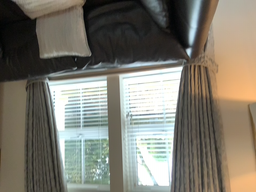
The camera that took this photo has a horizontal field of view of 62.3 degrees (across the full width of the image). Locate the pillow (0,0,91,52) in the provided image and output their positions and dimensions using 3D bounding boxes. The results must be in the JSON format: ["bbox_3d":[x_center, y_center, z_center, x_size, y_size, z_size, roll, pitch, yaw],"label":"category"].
[{"bbox_3d":[-0.510,-0.560,1.350,0.340,0.340,0.560,-4,171,15],"label":"pillow"}]
